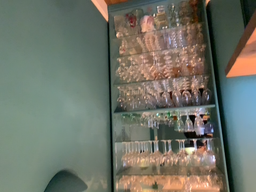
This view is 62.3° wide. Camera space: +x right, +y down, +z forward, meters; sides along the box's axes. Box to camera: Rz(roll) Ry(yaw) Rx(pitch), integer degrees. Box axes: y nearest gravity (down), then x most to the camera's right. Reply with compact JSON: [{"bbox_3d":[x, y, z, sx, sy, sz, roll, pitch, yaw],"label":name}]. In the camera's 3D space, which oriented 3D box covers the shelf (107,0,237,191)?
[{"bbox_3d":[0.440,0.160,2.270,1.020,2.270,0.760,-6,169,18],"label":"shelf"}]
